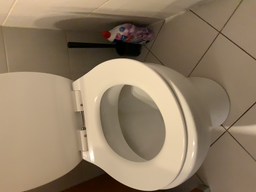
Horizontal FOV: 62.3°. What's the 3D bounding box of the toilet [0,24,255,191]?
[{"bbox_3d":[-0.070,0.070,0.700,0.700,0.760,0.370,0,98,51],"label":"toilet"}]
